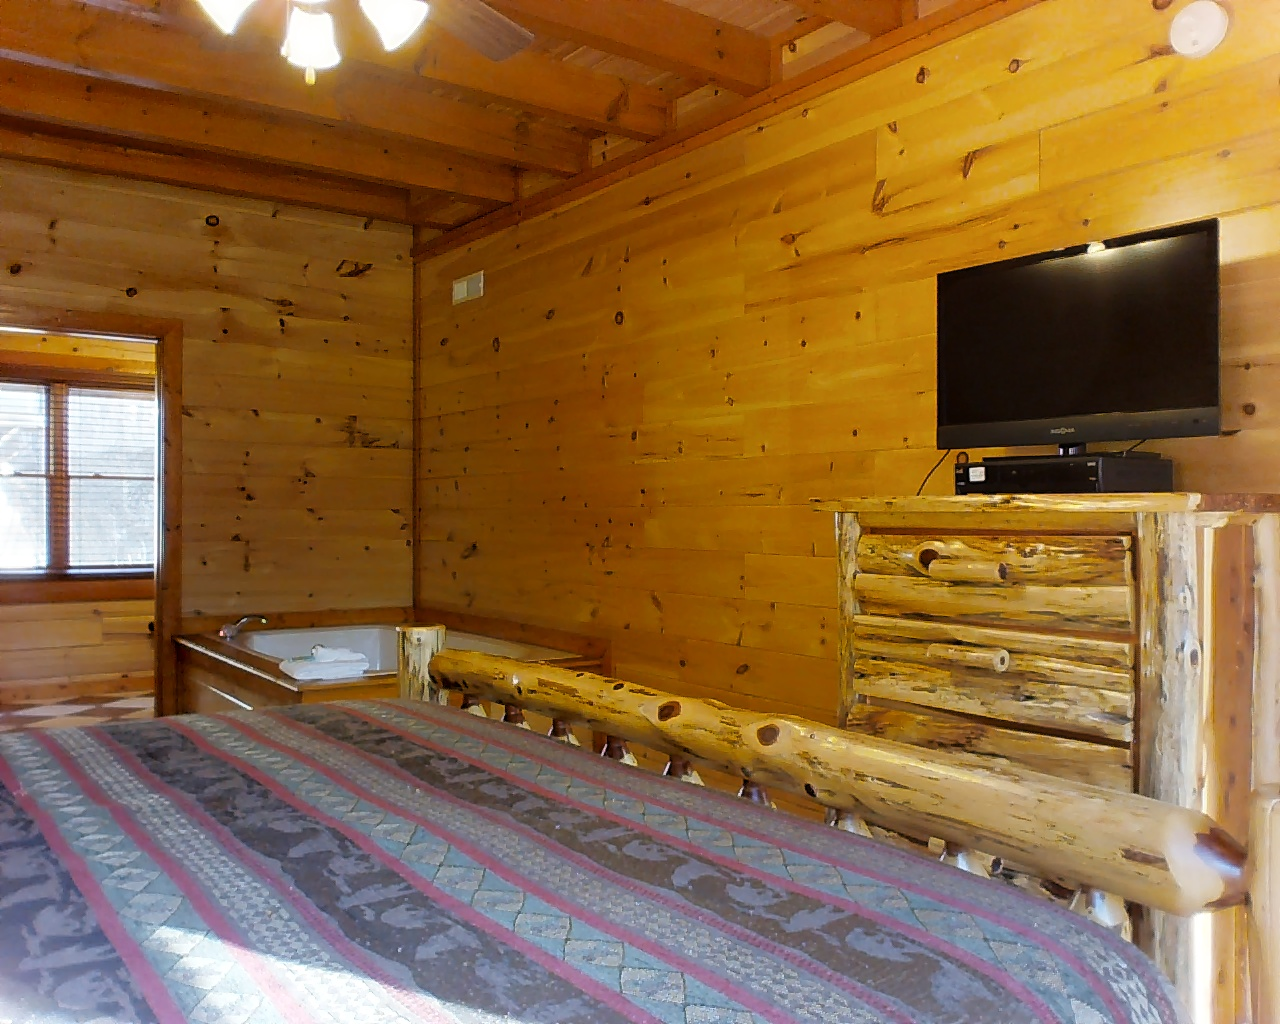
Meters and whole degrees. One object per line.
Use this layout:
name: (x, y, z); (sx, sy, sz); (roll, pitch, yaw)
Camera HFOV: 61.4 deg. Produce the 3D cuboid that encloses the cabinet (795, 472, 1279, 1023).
cabinet: (0.960, 0.550, 2.580); (0.660, 1.230, 0.970); (1, -1, -37)
